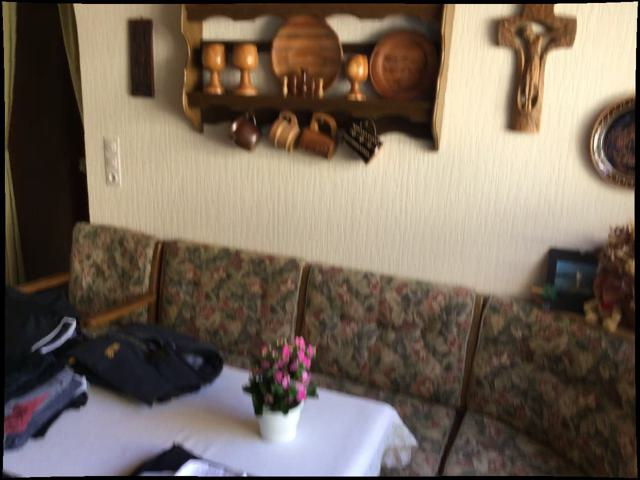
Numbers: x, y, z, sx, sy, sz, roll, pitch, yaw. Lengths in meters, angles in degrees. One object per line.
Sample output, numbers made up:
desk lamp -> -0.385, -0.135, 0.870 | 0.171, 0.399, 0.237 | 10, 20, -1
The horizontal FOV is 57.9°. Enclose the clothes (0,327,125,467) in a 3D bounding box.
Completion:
clothes -> -0.689, 0.360, 1.400 | 0.260, 0.130, 0.320 | 10, 18, 21

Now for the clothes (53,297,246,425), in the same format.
clothes -> -0.470, 0.320, 1.640 | 0.400, 0.140, 0.330 | 10, 18, 21

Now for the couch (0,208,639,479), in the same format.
couch -> 0.000, 0.661, 1.660 | 2.158, 0.911, 1.560 | 10, 18, 21

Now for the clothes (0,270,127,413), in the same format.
clothes -> -0.879, 0.270, 1.630 | 0.380, 0.160, 0.520 | 10, 18, 21
